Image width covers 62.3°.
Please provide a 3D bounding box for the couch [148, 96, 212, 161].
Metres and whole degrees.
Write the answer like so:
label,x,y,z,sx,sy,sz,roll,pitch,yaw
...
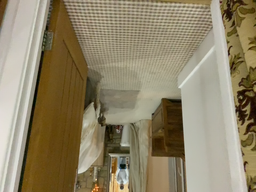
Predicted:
label,x,y,z,sx,sy,sz,roll,pitch,yaw
couch,0.660,0.530,3.070,0.580,0.760,1.060,2,162,-3
